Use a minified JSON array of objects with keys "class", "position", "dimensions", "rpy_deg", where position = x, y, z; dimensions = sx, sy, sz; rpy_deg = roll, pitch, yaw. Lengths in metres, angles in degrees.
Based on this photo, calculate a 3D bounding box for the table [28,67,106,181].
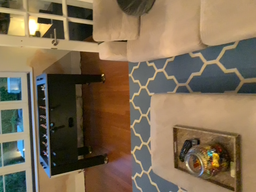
[{"class":"table","position":[-1.060,0.370,3.540],"dimensions":[1.080,0.910,1.530],"rpy_deg":[-2,91,57]}]
